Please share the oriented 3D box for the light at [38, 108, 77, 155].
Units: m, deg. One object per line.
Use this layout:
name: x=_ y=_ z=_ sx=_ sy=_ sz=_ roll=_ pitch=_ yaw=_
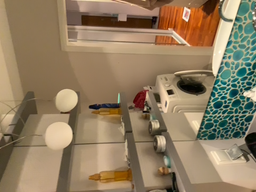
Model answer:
light: x=-0.290 y=0.150 z=0.900 sx=0.130 sy=0.170 sz=0.100 roll=-1 pitch=31 yaw=-10
